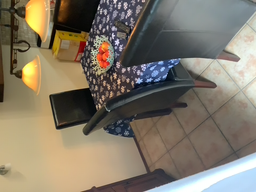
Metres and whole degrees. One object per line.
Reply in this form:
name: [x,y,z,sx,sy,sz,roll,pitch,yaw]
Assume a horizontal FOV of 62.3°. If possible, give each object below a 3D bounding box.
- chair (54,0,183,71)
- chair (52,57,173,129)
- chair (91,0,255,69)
chair: [-0.100,-0.640,2.150,0.630,1.070,0.430,61,138,35]
chair: [-0.160,-0.030,2.250,0.530,1.090,0.430,-54,49,44]
chair: [0.410,-0.540,1.350,0.430,1.090,0.530,-56,48,42]
